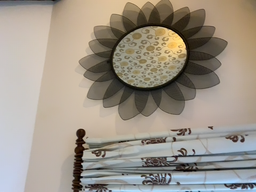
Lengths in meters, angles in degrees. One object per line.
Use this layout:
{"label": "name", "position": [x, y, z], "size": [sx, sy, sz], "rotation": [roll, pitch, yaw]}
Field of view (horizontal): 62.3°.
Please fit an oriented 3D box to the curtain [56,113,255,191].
{"label": "curtain", "position": [0.720, 0.230, 0.880], "size": [0.170, 2.100, 0.310], "rotation": [61, -155, -65]}
